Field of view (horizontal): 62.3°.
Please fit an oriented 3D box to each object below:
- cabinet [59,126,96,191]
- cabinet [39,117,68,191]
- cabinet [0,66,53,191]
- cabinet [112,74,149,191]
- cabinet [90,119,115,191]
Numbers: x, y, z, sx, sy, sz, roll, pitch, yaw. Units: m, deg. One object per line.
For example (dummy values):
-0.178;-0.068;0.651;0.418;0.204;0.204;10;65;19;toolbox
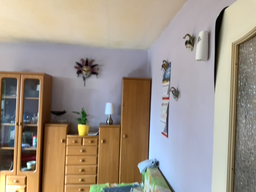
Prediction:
-0.810;1.030;3.480;0.480;1.010;0.440;3;0;-5;cabinet
-1.190;0.940;3.440;0.290;1.160;0.440;3;0;-5;cabinet
-1.680;0.530;3.380;0.730;1.910;0.490;3;0;-5;cabinet
0.020;0.620;3.540;0.490;1.920;0.430;3;0;-5;cabinet
-0.410;0.980;3.510;0.330;1.150;0.420;3;0;-5;cabinet
